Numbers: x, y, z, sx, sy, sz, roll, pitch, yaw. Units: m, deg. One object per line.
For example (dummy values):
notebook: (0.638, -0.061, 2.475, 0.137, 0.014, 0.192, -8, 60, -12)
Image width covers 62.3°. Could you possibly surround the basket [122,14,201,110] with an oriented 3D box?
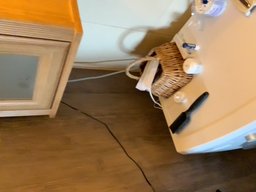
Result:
basket: (0.120, -0.130, 0.930, 0.290, 0.130, 0.290, -47, 50, 52)
